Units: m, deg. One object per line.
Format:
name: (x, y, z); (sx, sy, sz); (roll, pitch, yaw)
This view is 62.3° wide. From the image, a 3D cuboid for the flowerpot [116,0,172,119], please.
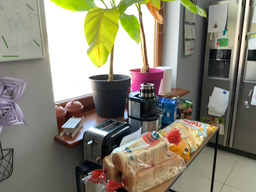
flowerpot: (0.130, -0.360, 1.790); (0.290, 1.000, 0.340); (14, 21, 42)
